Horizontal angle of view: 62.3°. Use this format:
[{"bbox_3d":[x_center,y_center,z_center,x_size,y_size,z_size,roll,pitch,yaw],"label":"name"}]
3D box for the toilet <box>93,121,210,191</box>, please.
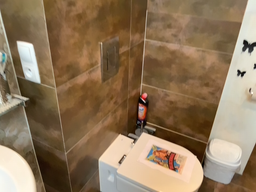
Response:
[{"bbox_3d":[0.140,0.530,1.350,0.580,0.440,0.390,17,33,23],"label":"toilet"}]
